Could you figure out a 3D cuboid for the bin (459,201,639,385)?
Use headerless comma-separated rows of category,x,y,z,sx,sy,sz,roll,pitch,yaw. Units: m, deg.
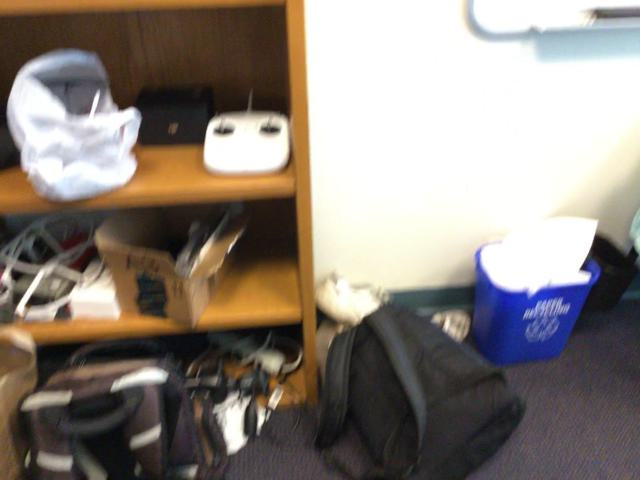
bin,0.630,0.140,1.570,0.410,0.350,0.290,-6,33,-1
